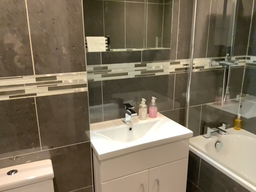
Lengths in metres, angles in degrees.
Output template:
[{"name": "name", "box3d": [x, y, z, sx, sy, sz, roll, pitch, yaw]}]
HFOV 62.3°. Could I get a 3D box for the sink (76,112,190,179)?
[{"name": "sink", "box3d": [0.020, 0.280, 1.390, 0.630, 0.150, 0.390, -7, 17, -24]}]
